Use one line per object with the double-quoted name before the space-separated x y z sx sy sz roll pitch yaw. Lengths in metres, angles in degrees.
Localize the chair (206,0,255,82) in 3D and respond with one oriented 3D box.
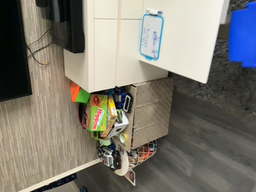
"chair" 0.650 -0.280 1.010 0.350 0.400 0.360 9 109 52
